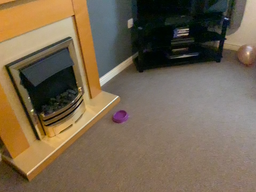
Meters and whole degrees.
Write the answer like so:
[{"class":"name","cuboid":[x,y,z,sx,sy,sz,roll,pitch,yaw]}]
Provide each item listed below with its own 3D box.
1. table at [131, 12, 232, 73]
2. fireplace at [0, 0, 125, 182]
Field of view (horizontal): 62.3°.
[{"class":"table","cuboid":[0.580,-0.670,2.580,1.010,0.450,0.580,-6,35,-3]},{"class":"fireplace","cuboid":[-0.500,-0.180,1.480,0.350,1.030,1.040,20,42,29]}]
